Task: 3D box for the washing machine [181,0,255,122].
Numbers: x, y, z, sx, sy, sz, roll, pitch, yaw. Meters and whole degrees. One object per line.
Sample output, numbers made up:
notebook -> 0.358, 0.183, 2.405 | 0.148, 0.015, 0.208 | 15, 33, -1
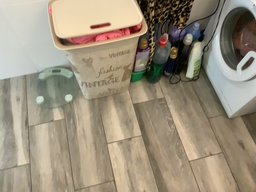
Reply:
washing machine -> 0.850, -0.370, 1.270 | 0.630, 0.840, 0.680 | -12, 64, -9
